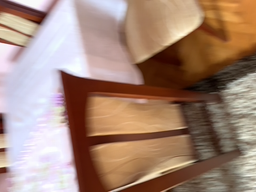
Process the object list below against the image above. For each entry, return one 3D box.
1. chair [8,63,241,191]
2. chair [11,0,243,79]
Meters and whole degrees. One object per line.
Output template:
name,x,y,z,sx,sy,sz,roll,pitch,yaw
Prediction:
chair,0.040,0.220,1.020,0.530,0.950,0.400,-30,67,40
chair,0.050,-0.490,1.020,0.450,1.000,0.570,-31,67,39
